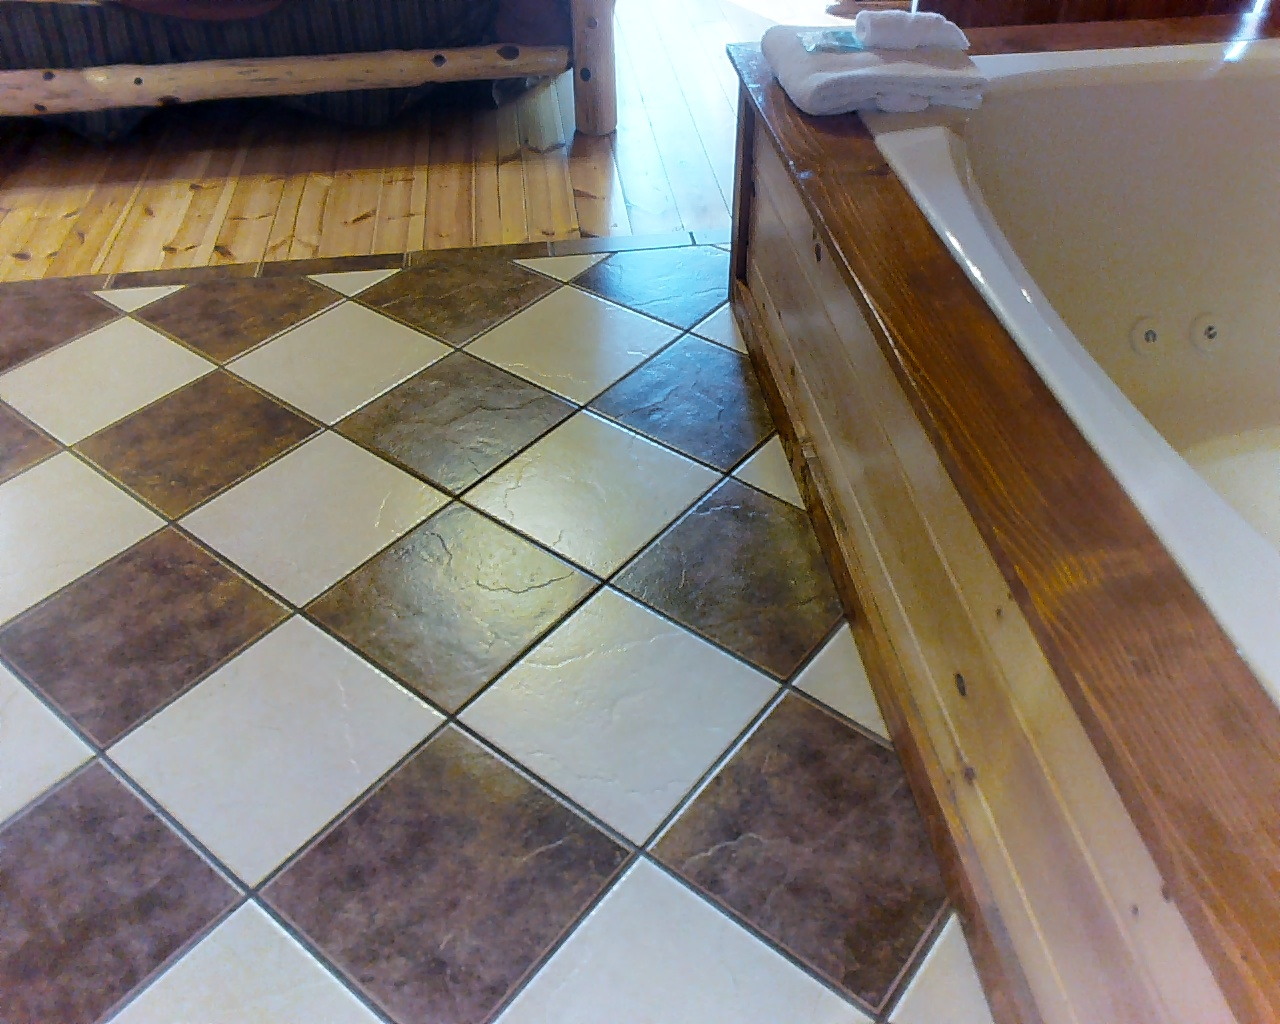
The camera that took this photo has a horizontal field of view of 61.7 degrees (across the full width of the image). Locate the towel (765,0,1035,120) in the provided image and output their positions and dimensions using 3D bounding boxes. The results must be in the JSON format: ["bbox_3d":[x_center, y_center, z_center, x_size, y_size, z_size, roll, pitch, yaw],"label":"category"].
[{"bbox_3d":[0.420,-0.780,1.790,0.350,0.120,0.270,-8,42,-8],"label":"towel"}]
